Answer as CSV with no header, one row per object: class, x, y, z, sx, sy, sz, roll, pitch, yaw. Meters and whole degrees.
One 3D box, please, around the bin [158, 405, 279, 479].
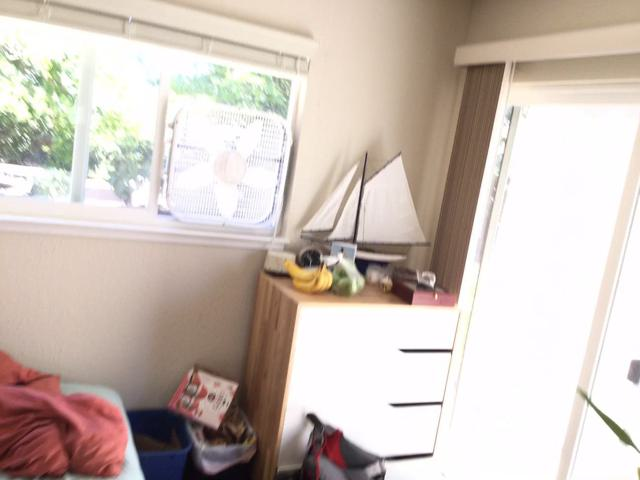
bin,-0.450,0.970,2.490,0.360,0.340,0.430,4,6,-29
